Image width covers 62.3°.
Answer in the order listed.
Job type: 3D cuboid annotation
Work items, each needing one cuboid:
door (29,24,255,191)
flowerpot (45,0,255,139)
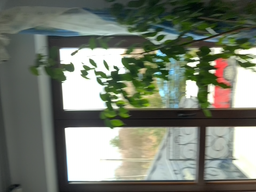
[{"bbox_3d":[0.420,0.200,1.780,0.230,2.270,1.500,-98,7,-81],"label":"door"},{"bbox_3d":[0.560,-0.250,1.380,0.610,1.930,0.850,-98,7,-81],"label":"flowerpot"}]
